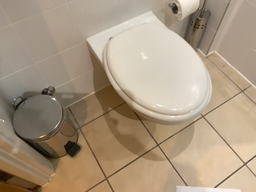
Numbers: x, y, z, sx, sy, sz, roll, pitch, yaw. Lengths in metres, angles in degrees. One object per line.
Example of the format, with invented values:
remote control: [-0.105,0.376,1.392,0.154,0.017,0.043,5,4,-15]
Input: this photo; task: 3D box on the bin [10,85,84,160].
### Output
bin: [-0.400,0.150,1.100,0.220,0.310,0.210,-25,62,-13]

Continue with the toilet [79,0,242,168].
toilet: [0.100,-0.040,0.990,0.370,0.460,0.520,-28,63,-15]
